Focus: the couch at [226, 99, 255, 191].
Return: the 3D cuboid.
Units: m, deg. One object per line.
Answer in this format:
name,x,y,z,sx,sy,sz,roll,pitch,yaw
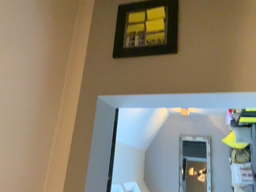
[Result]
couch,2.610,1.590,4.450,1.190,0.730,2.820,46,-134,-63
